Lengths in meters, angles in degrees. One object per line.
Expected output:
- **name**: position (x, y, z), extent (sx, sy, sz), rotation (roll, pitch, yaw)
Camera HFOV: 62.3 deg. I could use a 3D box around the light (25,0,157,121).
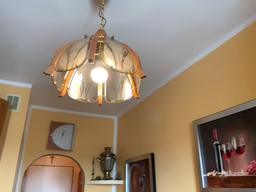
- **light**: position (-0.180, -0.290, 0.980), extent (0.530, 0.400, 0.570), rotation (-102, -158, -54)
